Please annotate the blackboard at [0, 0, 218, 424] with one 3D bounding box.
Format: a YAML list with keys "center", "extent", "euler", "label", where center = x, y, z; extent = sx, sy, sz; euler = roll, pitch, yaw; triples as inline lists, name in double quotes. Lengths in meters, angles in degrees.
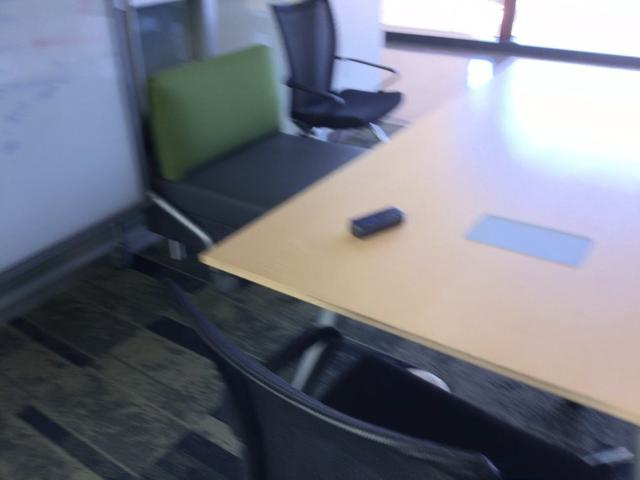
- center: [-0.900, -0.210, 1.660]
  extent: [0.190, 1.410, 1.290]
  euler: [16, 33, 32]
  label: "blackboard"

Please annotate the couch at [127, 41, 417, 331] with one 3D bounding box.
- center: [-0.150, -0.280, 2.260]
  extent: [0.770, 0.810, 0.700]
  euler: [18, 34, 34]
  label: "couch"

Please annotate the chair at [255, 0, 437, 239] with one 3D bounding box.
- center: [0.130, -0.590, 2.690]
  extent: [0.600, 0.930, 0.500]
  euler: [19, 34, 35]
  label: "chair"

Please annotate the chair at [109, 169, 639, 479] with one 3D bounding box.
- center: [0.130, 0.430, 0.930]
  extent: [0.570, 0.880, 0.500]
  euler: [20, 35, 36]
  label: "chair"
